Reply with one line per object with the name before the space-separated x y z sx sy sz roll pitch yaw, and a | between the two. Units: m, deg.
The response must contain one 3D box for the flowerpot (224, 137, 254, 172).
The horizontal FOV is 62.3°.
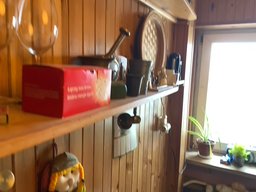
flowerpot | 0.930 0.480 1.770 0.180 0.170 0.260 7 9 32
